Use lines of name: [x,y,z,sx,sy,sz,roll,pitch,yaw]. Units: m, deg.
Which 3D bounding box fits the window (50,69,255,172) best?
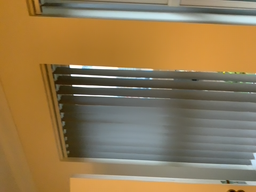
window: [0.260,0.230,1.520,0.030,1.500,0.840,-87,0,-57]
